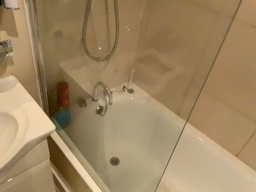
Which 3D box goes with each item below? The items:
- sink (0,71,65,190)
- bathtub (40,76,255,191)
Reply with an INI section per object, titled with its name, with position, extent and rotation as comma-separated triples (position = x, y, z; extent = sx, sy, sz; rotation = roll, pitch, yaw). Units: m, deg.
[sink]
position = -0.600, 0.160, 0.750
extent = 0.580, 0.150, 0.430
rotation = -26, 52, -36
[bathtub]
position = 0.280, 0.640, 1.190
extent = 0.750, 0.550, 1.670
rotation = -25, 51, -35
